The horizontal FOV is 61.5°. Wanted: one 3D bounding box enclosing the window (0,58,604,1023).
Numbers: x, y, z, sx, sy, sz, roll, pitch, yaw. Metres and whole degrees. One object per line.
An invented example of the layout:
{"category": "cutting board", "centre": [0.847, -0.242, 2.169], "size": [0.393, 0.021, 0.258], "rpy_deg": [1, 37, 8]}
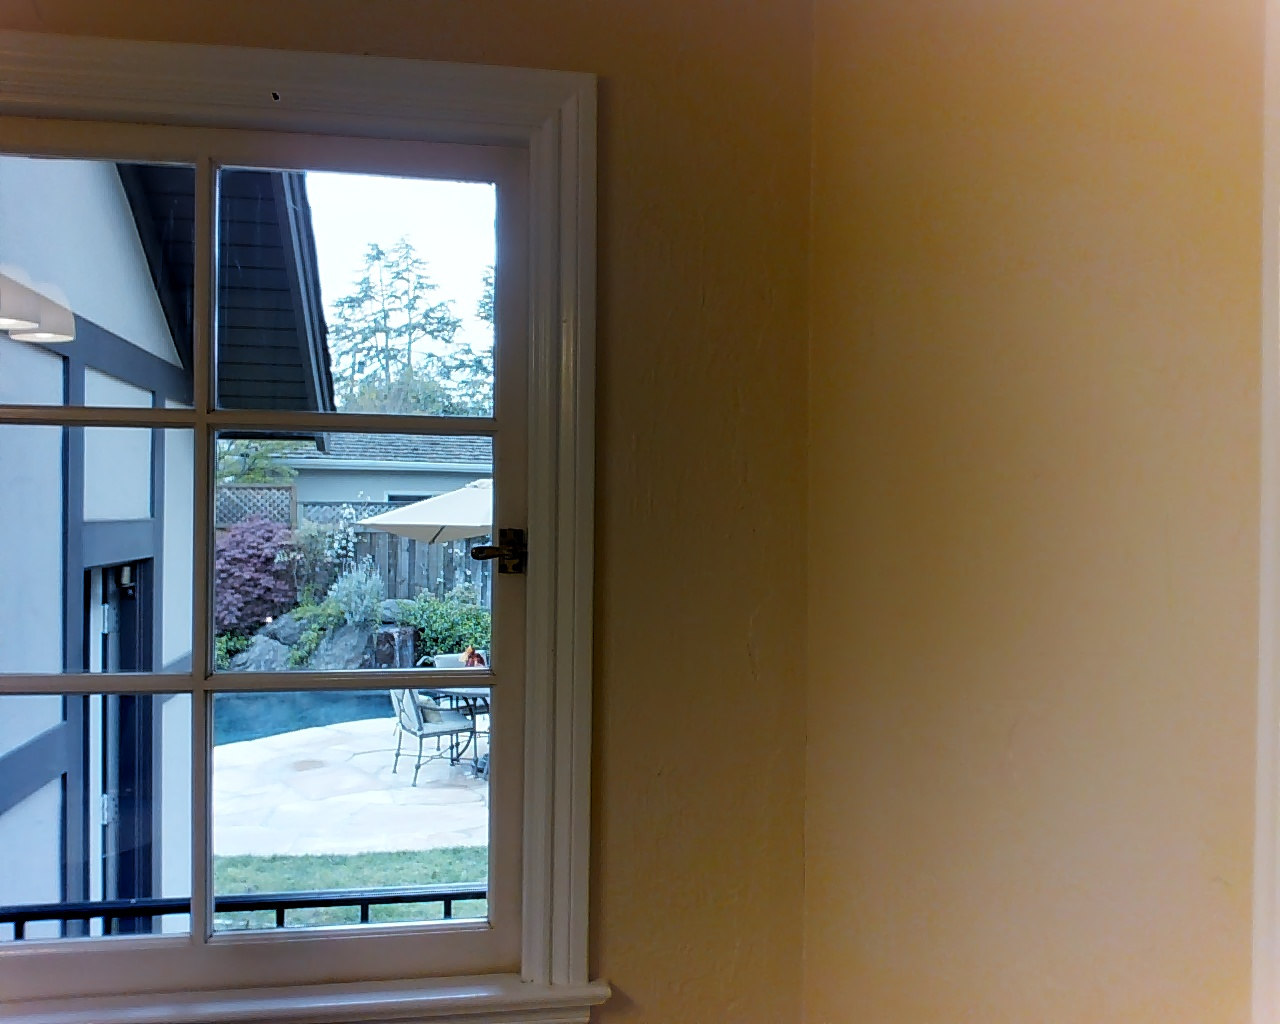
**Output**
{"category": "window", "centre": [-0.460, 0.050, 1.210], "size": [0.820, 1.040, 0.110], "rpy_deg": [1, 0, -10]}
